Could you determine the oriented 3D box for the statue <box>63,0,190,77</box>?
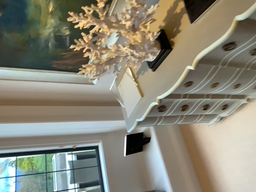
[{"bbox_3d":[-0.040,-0.320,0.980,0.370,0.430,0.270,-53,43,49],"label":"statue"}]
